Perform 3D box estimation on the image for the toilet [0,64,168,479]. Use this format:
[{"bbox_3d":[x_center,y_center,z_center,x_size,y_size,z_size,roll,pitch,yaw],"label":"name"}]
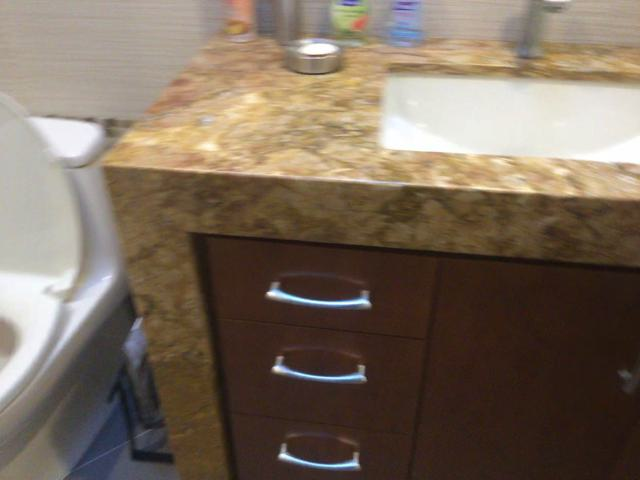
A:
[{"bbox_3d":[-0.670,0.160,1.190,0.420,0.820,0.690,3,36,2],"label":"toilet"}]
